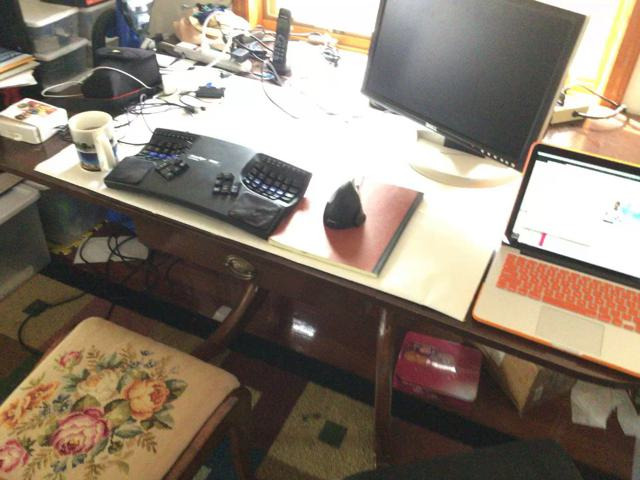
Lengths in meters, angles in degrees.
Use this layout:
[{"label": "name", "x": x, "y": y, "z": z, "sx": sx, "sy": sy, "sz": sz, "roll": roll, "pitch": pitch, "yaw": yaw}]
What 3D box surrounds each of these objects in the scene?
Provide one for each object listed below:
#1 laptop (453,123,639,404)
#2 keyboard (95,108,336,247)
[{"label": "laptop", "x": 0.470, "y": 0.020, "z": 1.000, "sx": 0.340, "sy": 0.240, "sz": 0.380, "roll": 18, "pitch": 41, "yaw": 21}, {"label": "keyboard", "x": -0.220, "y": -0.150, "z": 1.240, "sx": 0.450, "sy": 0.090, "sz": 0.230, "roll": 18, "pitch": 41, "yaw": 21}]
